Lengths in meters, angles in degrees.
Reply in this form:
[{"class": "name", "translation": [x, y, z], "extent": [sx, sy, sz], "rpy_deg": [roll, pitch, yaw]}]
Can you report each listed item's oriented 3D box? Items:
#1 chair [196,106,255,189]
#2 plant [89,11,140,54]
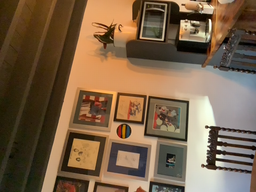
[{"class": "chair", "translation": [1.180, 0.430, 1.730], "extent": [0.530, 1.050, 0.440], "rpy_deg": [-69, -15, -76]}, {"class": "plant", "translation": [-0.150, -0.770, 2.570], "extent": [0.210, 0.550, 0.400], "rpy_deg": [85, -168, -73]}]
